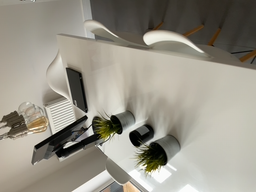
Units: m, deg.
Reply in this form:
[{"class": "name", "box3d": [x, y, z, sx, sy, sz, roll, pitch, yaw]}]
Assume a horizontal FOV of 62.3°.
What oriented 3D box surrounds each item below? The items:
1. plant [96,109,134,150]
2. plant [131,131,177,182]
[{"class": "plant", "box3d": [-0.070, 0.180, 1.190, 0.130, 0.150, 0.140, 22, 126, 45]}, {"class": "plant", "box3d": [0.120, 0.270, 0.970, 0.110, 0.180, 0.120, 22, 126, 45]}]
